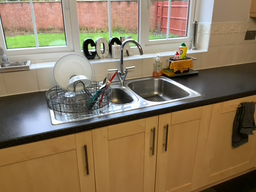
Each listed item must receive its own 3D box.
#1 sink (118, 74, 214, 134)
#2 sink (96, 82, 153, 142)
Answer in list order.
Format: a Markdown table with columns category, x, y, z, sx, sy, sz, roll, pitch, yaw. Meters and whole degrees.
| category | x | y | z | sx | sy | sz | roll | pitch | yaw |
| --- | --- | --- | --- | --- | --- | --- | --- | --- | --- |
| sink | 0.250 | 0.020 | 1.610 | 0.490 | 0.190 | 0.530 | -9 | 24 | -23 |
| sink | -0.050 | 0.080 | 1.480 | 0.190 | 0.190 | 0.530 | -9 | 24 | -23 |
